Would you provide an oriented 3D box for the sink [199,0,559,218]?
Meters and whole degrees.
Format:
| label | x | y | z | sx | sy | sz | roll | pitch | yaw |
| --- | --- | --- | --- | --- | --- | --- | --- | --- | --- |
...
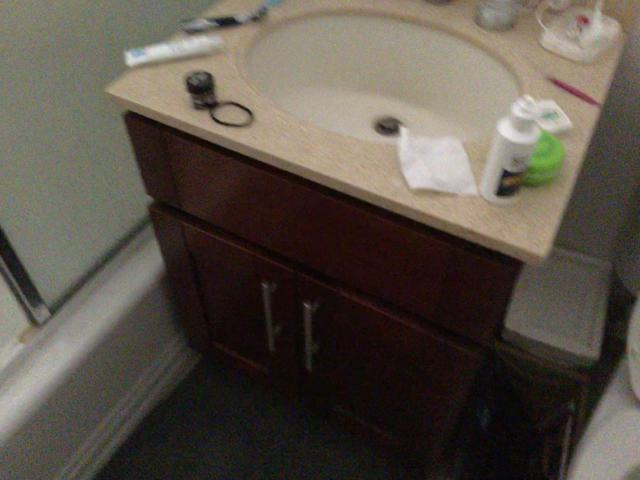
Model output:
| label | x | y | z | sx | sy | sz | roll | pitch | yaw |
| --- | --- | --- | --- | --- | --- | --- | --- | --- | --- |
| sink | 0.100 | -0.280 | 1.040 | 0.530 | 0.140 | 0.310 | 24 | 51 | 21 |
